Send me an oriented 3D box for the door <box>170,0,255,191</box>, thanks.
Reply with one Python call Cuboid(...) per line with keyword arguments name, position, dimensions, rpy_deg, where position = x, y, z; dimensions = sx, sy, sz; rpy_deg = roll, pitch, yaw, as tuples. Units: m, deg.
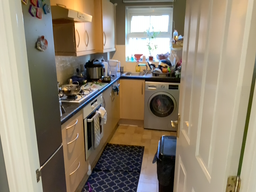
Cuboid(name="door", position=(0.350, 0.250, 1.120), dimensions=(0.050, 1.980, 0.810), rpy_deg=(1, 15, 2))
